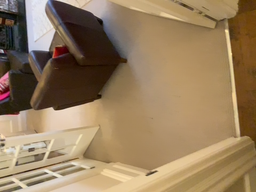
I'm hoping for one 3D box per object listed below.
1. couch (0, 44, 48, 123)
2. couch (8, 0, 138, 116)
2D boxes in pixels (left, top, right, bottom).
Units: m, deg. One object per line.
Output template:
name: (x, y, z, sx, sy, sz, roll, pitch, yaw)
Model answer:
couch: (-1.980, -0.250, 3.610, 0.950, 0.740, 1.030, 30, 114, 41)
couch: (-0.600, -0.420, 2.150, 0.770, 0.810, 0.880, -50, 59, 36)
